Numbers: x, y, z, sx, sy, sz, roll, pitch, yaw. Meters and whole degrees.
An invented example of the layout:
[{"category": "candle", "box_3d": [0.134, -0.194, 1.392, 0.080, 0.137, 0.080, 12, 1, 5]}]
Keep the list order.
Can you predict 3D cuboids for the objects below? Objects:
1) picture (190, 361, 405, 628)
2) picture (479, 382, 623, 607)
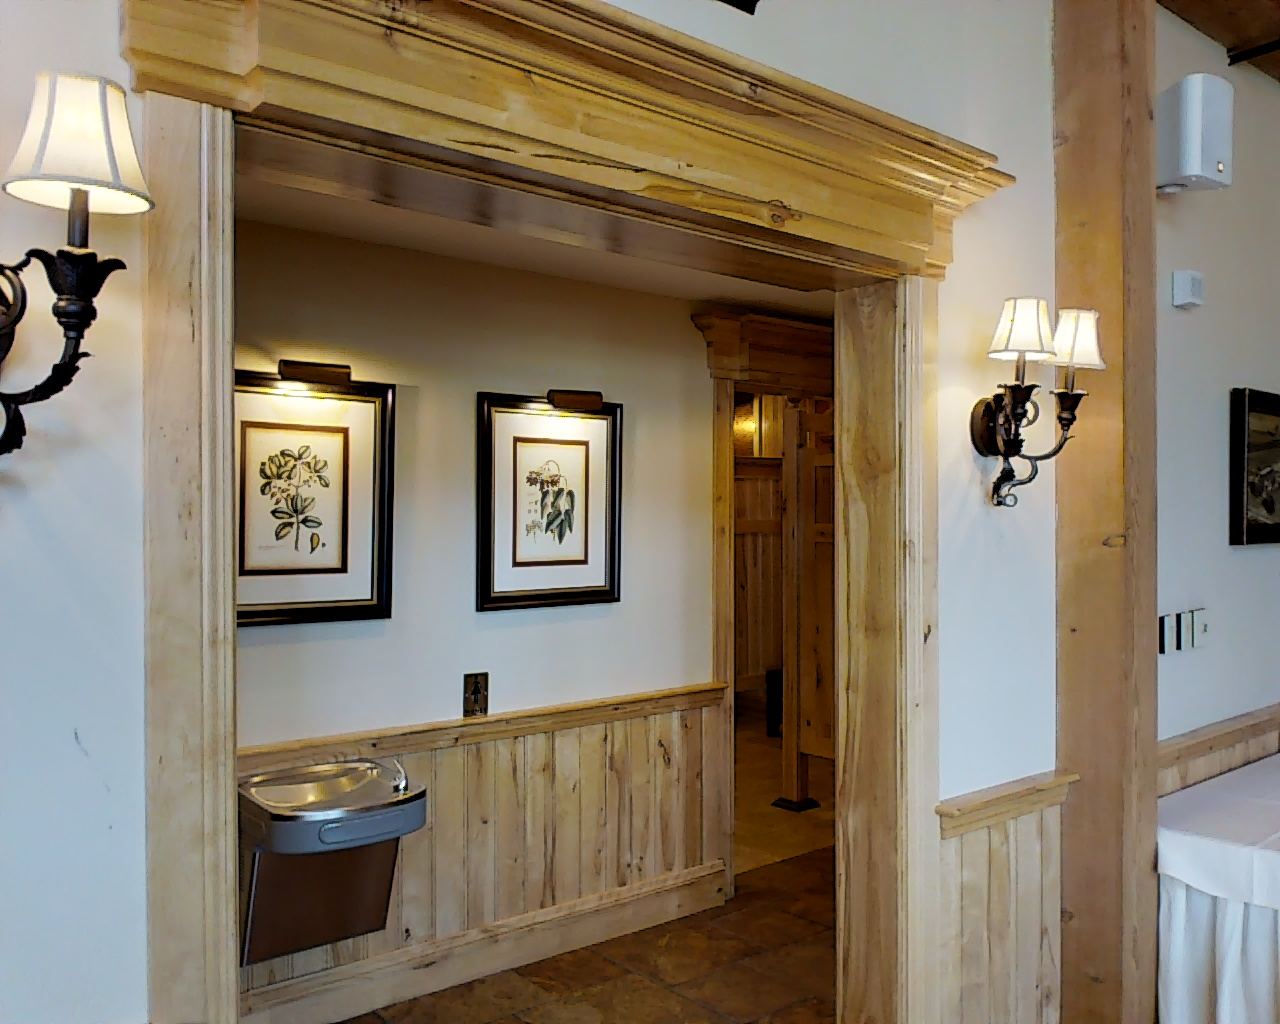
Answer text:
[{"category": "picture", "box_3d": [-1.030, -0.050, 3.280, 0.650, 0.760, 0.060, 0, 0, -40]}, {"category": "picture", "box_3d": [-0.310, -0.060, 3.880, 0.600, 0.770, 0.050, 0, 0, -40]}]
